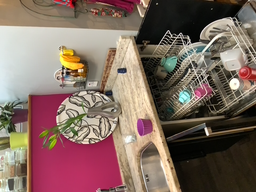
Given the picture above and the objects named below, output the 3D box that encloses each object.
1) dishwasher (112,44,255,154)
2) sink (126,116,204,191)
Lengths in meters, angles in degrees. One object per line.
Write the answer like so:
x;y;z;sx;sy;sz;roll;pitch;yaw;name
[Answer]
0.410;0.030;1.830;0.700;0.870;0.600;115;145;-55;dishwasher
0.210;0.460;1.480;0.480;0.240;0.450;115;145;-55;sink
